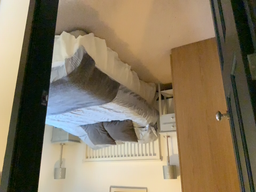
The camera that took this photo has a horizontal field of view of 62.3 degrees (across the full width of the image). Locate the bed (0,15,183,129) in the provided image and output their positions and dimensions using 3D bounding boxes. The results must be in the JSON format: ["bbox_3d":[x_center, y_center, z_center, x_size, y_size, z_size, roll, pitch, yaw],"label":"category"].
[{"bbox_3d":[-0.360,-0.030,2.960,1.540,0.630,2.050,-12,161,31],"label":"bed"}]
